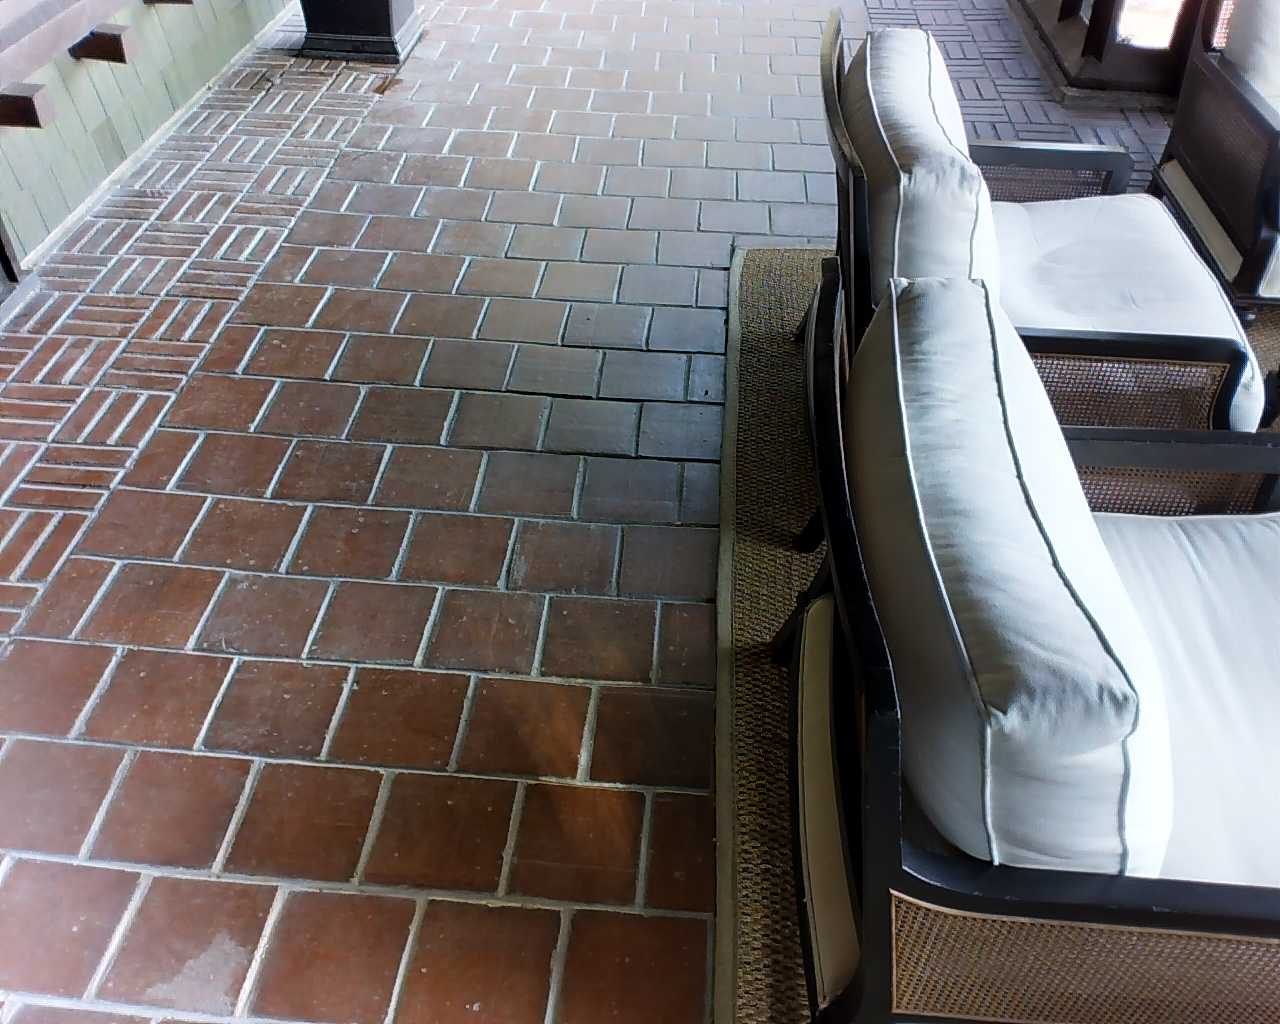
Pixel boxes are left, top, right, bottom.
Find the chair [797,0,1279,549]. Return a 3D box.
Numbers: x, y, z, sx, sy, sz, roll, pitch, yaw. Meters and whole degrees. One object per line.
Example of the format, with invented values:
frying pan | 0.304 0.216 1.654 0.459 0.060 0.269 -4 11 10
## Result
chair | 0.830 -0.540 2.330 0.870 0.780 0.890 4 43 3
